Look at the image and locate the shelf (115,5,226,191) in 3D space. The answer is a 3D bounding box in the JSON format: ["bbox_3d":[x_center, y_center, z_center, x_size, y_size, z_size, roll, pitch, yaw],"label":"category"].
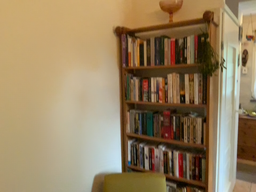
[{"bbox_3d":[0.330,0.340,1.890,0.870,1.990,0.270,4,9,34],"label":"shelf"}]
